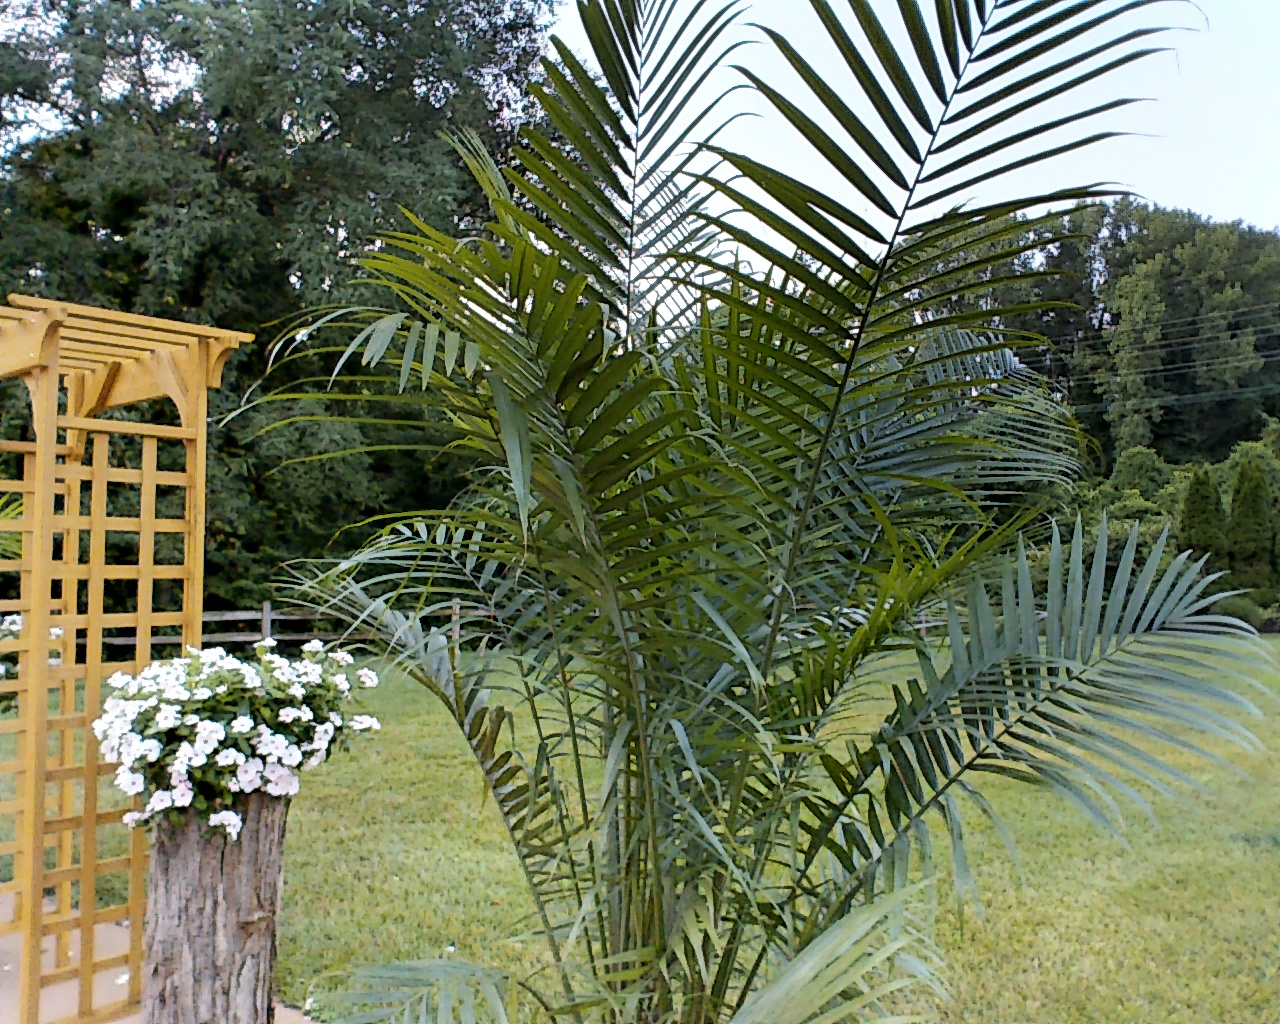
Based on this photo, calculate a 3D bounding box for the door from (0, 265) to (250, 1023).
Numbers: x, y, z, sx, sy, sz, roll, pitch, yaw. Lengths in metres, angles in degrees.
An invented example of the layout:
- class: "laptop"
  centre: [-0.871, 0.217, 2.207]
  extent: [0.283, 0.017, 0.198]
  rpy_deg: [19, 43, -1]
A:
- class: "door"
  centre: [-1.740, 0.470, 3.270]
  extent: [1.270, 2.150, 0.520]
  rpy_deg: [0, -1, 44]
